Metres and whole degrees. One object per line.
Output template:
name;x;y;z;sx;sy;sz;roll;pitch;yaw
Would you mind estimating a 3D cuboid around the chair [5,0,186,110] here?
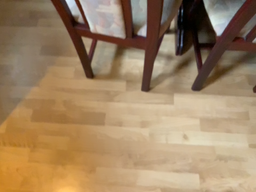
chair;-0.030;-0.410;0.750;0.460;0.970;0.560;14;70;7
